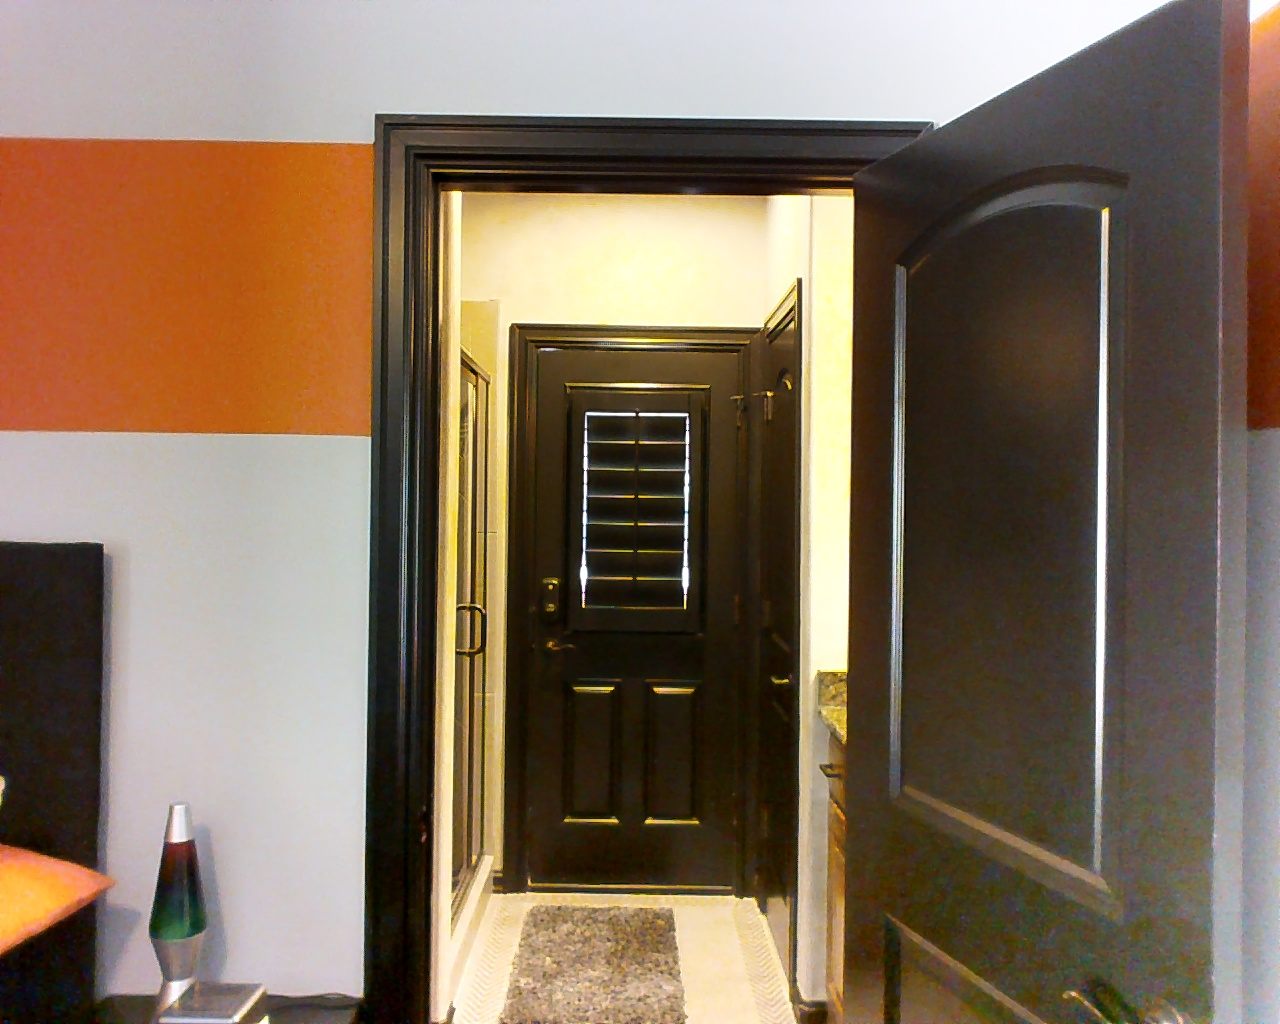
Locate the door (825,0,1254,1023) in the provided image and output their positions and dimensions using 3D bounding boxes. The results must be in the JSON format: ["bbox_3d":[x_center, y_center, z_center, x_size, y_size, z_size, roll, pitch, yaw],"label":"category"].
[{"bbox_3d":[0.470,0.430,1.450,0.040,2.090,0.780,1,0,-20],"label":"door"}]
